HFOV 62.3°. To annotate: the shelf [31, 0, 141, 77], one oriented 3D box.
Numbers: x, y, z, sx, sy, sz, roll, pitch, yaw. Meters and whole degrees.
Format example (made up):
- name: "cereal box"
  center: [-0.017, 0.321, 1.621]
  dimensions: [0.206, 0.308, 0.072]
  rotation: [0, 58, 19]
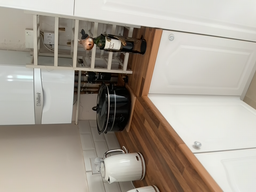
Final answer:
- name: "shelf"
  center: [-0.300, -0.390, 1.460]
  dimensions: [0.370, 0.630, 0.370]
  rotation: [-121, 37, -56]
